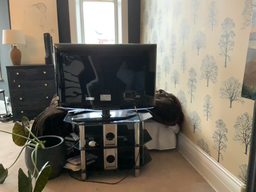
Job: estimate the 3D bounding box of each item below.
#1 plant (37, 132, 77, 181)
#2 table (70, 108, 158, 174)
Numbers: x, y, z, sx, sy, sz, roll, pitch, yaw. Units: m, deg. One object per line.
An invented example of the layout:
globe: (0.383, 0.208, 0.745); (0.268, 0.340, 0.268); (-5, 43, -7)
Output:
plant: (-0.650, 0.550, 2.000); (0.280, 0.300, 0.360); (-2, 11, -7)
table: (-0.130, 0.420, 2.080); (0.770, 0.500, 0.350); (-2, 11, -4)
